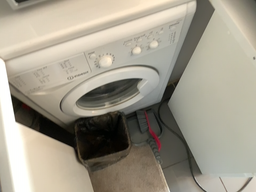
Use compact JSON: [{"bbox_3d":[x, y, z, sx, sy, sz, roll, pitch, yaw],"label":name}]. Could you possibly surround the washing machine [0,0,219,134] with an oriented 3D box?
[{"bbox_3d":[-0.090,-0.190,0.960,0.540,0.820,0.430,-18,71,-5],"label":"washing machine"}]
